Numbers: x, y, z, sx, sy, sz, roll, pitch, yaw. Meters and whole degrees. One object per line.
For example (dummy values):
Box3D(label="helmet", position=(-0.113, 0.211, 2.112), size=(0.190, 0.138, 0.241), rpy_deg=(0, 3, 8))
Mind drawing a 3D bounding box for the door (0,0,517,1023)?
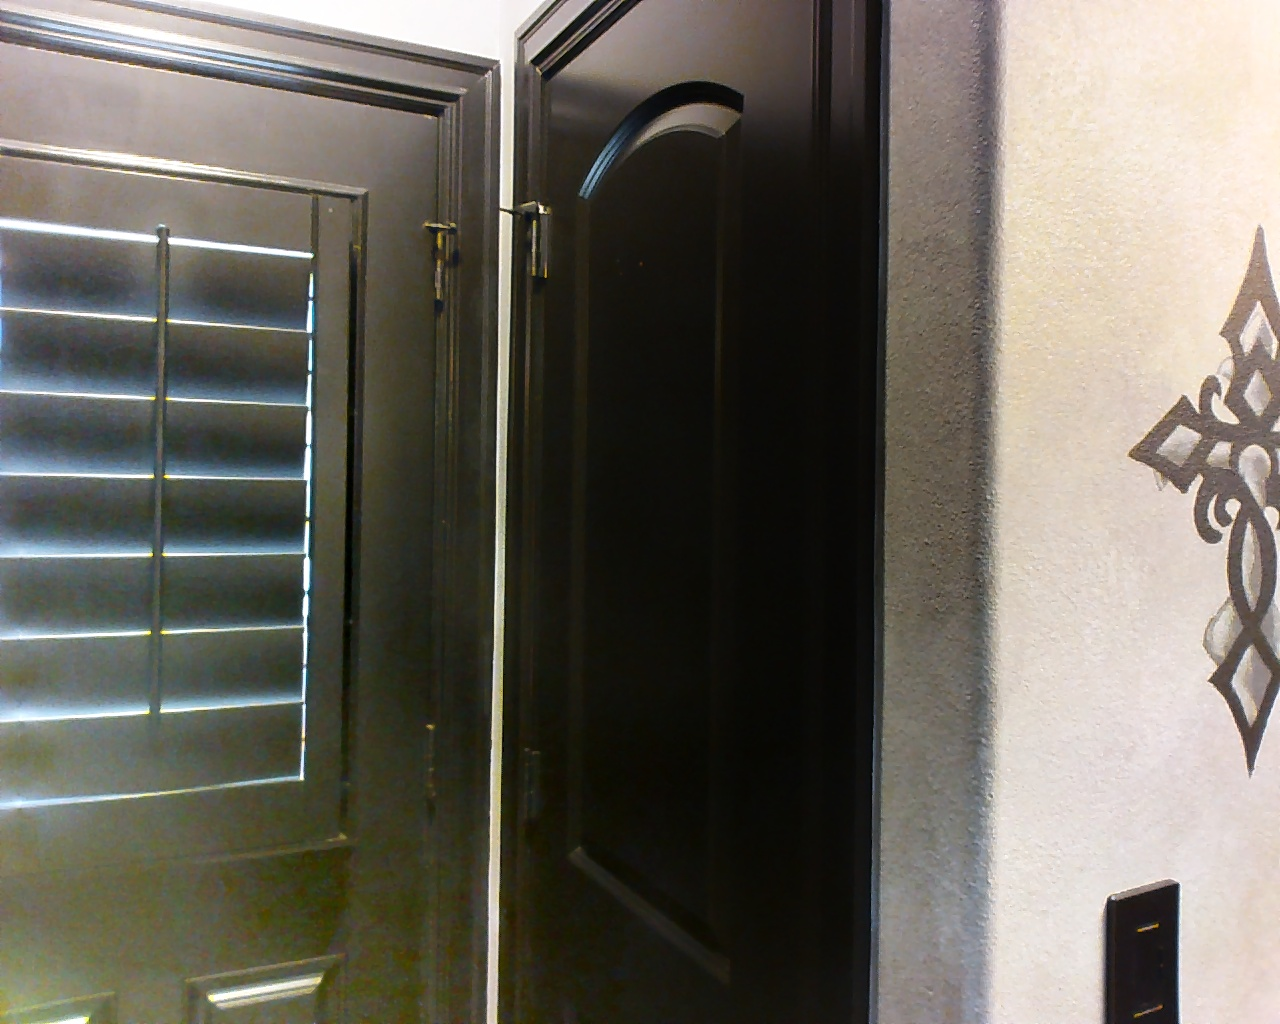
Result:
Box3D(label="door", position=(-0.660, 0.350, 1.400), size=(1.000, 2.200, 0.090), rpy_deg=(1, 0, -27))

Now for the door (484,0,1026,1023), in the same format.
Box3D(label="door", position=(0.020, 0.380, 1.170), size=(0.070, 2.150, 0.950), rpy_deg=(1, 0, -27))
